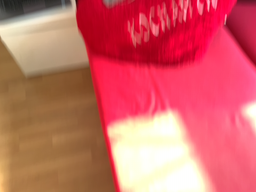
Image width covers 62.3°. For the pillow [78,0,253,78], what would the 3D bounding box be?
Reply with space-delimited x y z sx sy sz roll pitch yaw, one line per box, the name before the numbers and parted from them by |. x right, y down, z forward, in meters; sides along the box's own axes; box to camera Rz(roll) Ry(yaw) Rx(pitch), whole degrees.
pillow | 0.130 -0.420 1.020 0.660 0.250 0.440 -17 60 -10
